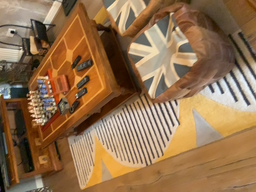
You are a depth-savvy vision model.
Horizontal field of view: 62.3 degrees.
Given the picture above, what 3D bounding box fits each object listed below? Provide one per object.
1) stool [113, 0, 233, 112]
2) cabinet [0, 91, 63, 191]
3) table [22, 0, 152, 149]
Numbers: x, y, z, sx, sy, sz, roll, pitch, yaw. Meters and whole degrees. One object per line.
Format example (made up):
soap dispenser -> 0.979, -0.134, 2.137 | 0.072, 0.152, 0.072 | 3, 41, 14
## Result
stool -> 0.270, -0.250, 1.400 | 0.470, 0.400, 0.530 | -36, 67, 39
cabinet -> -1.480, 0.580, 2.990 | 0.580, 0.630, 1.170 | -37, 66, 38
table -> -0.530, -0.110, 2.140 | 1.340, 0.480, 0.820 | -36, 67, 39
